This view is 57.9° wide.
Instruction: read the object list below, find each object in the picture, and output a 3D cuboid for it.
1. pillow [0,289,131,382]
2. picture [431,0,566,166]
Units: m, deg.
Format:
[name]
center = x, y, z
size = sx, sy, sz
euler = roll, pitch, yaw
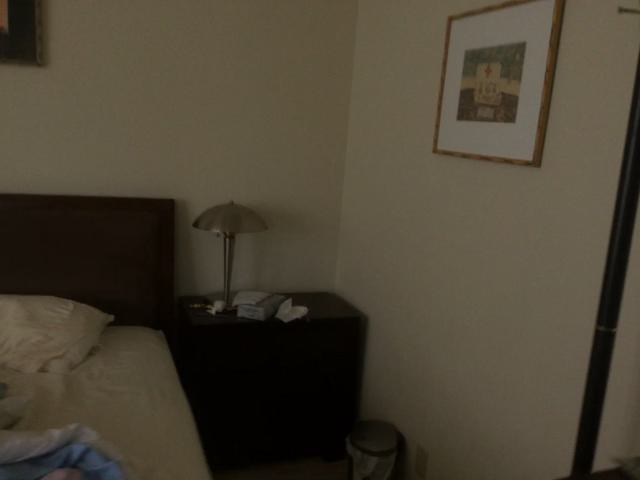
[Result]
[pillow]
center = -1.020, 0.300, 1.920
size = 0.670, 0.160, 0.440
euler = 3, 9, -7
[picture]
center = 0.500, -0.450, 1.710
size = 0.020, 0.450, 0.510
euler = 0, 7, -24
